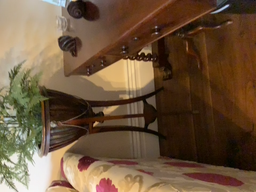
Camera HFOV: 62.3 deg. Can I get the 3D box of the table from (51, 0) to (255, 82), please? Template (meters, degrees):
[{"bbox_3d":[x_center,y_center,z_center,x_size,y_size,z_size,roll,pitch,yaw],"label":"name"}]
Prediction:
[{"bbox_3d":[0.130,-0.460,1.070,1.090,0.790,0.630,-10,83,60],"label":"table"}]

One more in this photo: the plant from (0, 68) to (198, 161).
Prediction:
[{"bbox_3d":[-0.200,0.080,1.240,0.380,1.260,0.370,-14,80,60],"label":"plant"}]
